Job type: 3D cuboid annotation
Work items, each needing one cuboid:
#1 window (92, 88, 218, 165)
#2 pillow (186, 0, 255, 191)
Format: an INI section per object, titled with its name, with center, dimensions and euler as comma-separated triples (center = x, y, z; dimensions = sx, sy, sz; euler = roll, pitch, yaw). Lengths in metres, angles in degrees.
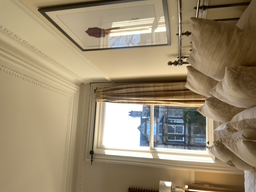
[window]
center = 0.440, 0.490, 3.760
dimensions = 0.360, 2.070, 1.200
euler = 35, -123, -74
[pillow]
center = 0.640, -0.070, 1.310
dimensions = 0.670, 0.520, 1.090
euler = 34, -122, -74
